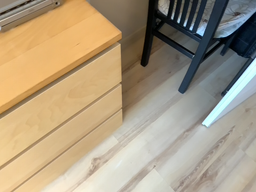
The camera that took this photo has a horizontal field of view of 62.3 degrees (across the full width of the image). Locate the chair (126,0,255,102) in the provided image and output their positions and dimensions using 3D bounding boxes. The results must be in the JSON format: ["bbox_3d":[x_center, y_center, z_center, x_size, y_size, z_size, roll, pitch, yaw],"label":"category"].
[{"bbox_3d":[0.400,-0.540,1.130,0.650,0.960,0.490,-39,69,-20],"label":"chair"}]
